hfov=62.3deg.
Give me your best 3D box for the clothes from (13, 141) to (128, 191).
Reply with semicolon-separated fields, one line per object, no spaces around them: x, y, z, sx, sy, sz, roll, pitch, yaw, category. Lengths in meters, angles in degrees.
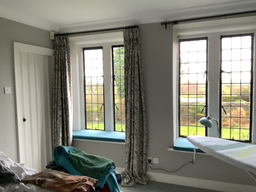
-0.360;0.550;1.430;0.610;0.340;0.410;0;4;20;clothes
